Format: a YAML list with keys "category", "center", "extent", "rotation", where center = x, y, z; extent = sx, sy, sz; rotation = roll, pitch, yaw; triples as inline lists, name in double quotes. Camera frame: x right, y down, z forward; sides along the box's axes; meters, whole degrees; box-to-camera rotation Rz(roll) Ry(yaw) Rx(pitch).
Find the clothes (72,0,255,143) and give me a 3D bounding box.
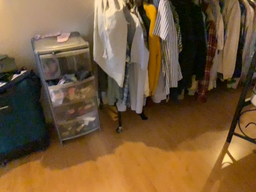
- category: "clothes"
  center: [0.530, -0.870, 1.750]
  extent: [1.880, 2.160, 0.580]
  rotation: [-15, 35, -18]
